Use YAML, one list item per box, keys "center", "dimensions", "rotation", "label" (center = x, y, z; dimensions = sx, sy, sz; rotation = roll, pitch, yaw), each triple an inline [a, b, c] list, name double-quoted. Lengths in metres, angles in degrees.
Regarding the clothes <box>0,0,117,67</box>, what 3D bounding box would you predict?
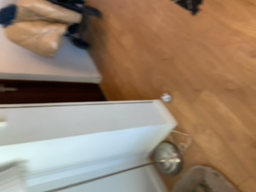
- center: [-0.910, -0.940, 2.690]
  dimensions: [1.040, 1.070, 0.560]
  rotation: [53, 128, 37]
  label: "clothes"
